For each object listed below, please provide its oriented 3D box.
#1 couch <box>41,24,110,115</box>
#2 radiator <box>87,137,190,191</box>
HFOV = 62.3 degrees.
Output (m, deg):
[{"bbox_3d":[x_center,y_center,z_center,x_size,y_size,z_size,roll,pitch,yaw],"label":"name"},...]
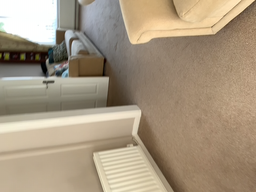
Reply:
[{"bbox_3d":[-1.240,-0.710,4.500,2.280,0.940,1.050,-129,41,-52],"label":"couch"},{"bbox_3d":[0.130,0.820,1.850,1.170,0.710,0.120,-130,42,-53],"label":"radiator"}]
